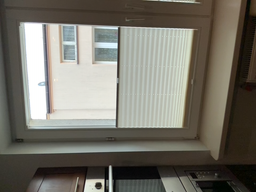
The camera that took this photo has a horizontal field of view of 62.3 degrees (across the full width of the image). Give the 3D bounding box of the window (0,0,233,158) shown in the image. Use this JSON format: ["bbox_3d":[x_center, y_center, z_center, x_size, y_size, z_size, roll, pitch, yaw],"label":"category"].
[{"bbox_3d":[-0.120,-0.390,1.340,0.190,1.480,1.580,-113,24,-74],"label":"window"}]
